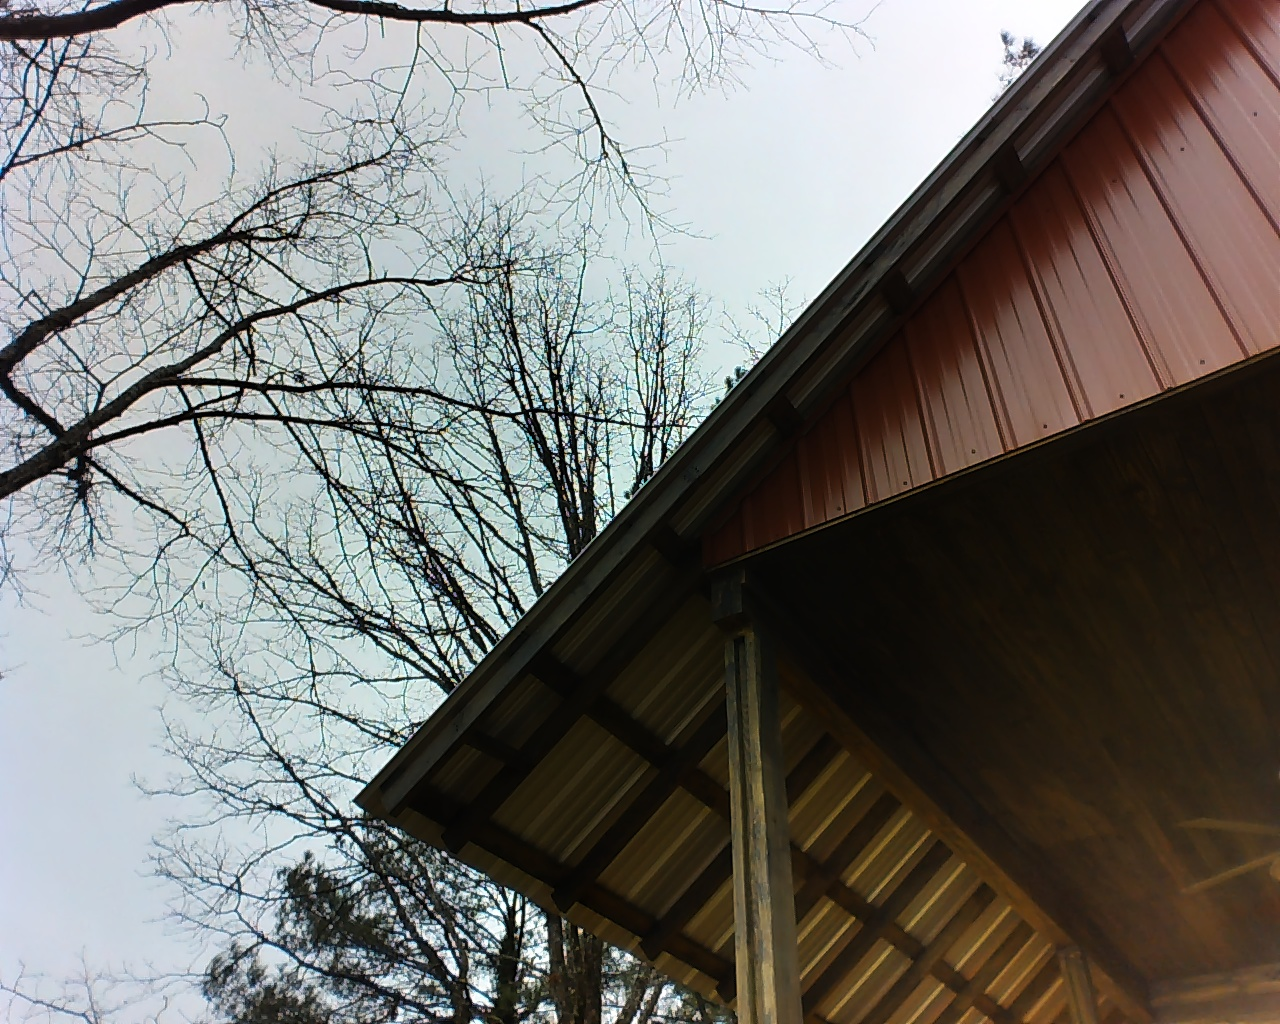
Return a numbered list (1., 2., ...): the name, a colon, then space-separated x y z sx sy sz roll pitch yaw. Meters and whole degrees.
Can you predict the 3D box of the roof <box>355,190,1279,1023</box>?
1. roof: 2.440 1.630 4.880 4.170 1.180 5.890 -24 -48 26
